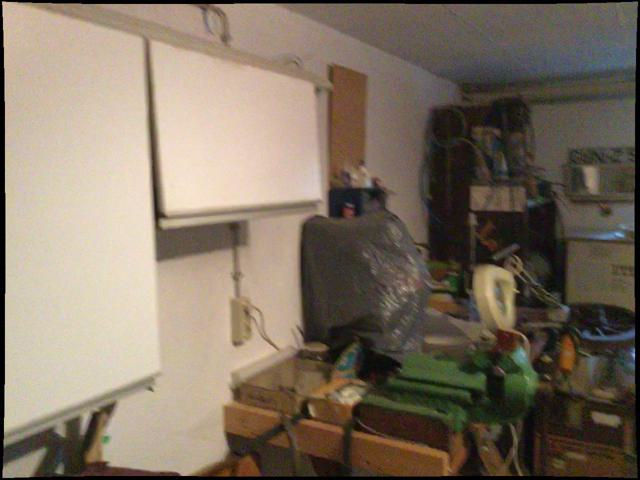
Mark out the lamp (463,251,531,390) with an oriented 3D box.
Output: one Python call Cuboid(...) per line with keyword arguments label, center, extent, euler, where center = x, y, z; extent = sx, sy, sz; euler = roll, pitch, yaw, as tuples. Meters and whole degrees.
Cuboid(label="lamp", center=(0.589, 0.250, 1.910), extent=(0.140, 0.380, 0.290), euler=(2, 9, 32))
